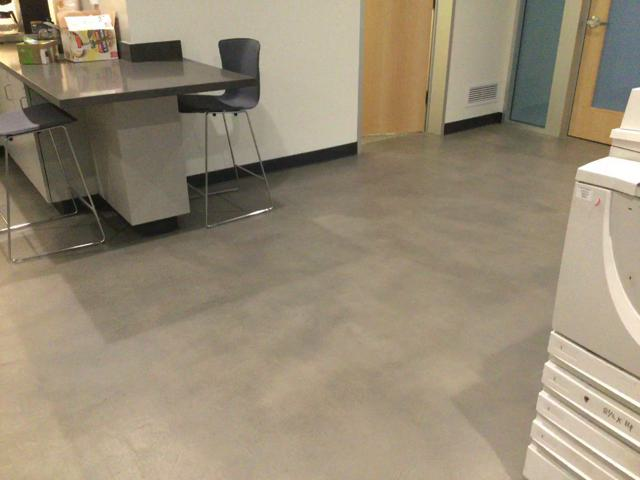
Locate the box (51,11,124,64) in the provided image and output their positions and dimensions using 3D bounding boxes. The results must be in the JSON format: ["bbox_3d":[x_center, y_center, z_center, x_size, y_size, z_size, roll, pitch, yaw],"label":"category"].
[{"bbox_3d":[-1.300,-1.140,3.240,0.290,0.250,0.260,-16,30,-36],"label":"box"}]

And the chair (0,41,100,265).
[{"bbox_3d":[-1.460,-0.440,2.800,0.510,0.940,0.490,-15,30,-35],"label":"chair"}]
